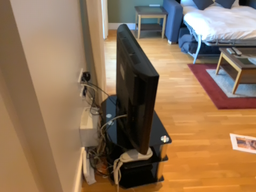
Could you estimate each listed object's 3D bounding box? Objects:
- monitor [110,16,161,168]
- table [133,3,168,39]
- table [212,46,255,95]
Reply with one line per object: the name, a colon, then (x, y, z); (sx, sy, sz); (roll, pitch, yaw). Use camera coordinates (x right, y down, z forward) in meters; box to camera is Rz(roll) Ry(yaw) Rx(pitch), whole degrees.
monitor: (0.000, -0.080, 1.400); (0.100, 0.650, 0.830); (-6, 36, -10)
table: (0.440, -1.570, 4.430); (0.610, 0.540, 0.660); (-1, 36, -3)
table: (1.860, -0.360, 2.870); (1.160, 0.430, 0.570); (-1, 36, -3)
